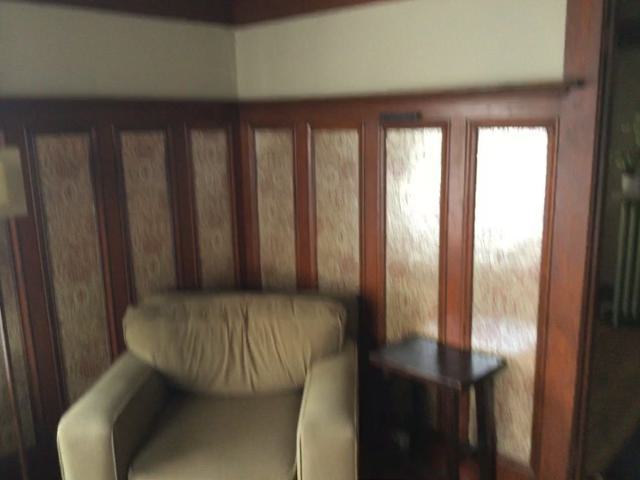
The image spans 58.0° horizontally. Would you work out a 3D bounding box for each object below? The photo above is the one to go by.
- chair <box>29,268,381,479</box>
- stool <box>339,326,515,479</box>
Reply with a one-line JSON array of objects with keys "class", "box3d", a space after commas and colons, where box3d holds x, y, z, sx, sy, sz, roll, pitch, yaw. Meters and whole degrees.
[{"class": "chair", "box3d": [-0.330, 0.690, 2.330, 1.060, 0.890, 0.990, -4, 9, 2]}, {"class": "stool", "box3d": [0.430, 0.750, 2.320, 0.560, 0.650, 0.360, 4, 13, 42]}]
